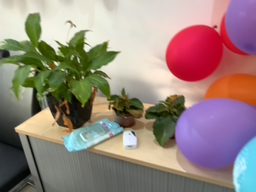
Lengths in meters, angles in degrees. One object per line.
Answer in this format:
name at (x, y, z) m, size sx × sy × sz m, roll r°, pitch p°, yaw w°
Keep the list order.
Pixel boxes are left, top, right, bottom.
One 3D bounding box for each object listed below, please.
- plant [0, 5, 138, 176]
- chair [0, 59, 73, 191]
plant at (-0.280, -0.080, 0.860) m, size 0.510 × 0.490 × 0.430 m, roll 7°, pitch 27°, yaw 21°
chair at (-0.760, 0.350, 1.200) m, size 0.440 × 0.960 × 0.610 m, roll 9°, pitch 28°, yaw 24°
